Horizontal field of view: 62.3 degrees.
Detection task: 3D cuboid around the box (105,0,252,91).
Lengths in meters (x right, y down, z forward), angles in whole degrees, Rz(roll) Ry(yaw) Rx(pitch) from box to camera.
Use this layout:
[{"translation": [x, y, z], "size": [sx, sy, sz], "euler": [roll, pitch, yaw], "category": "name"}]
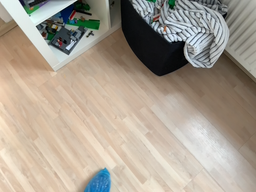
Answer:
[{"translation": [0.210, -0.390, 1.100], "size": [0.440, 0.380, 0.470], "euler": [-40, 79, -12], "category": "box"}]
